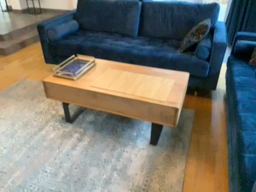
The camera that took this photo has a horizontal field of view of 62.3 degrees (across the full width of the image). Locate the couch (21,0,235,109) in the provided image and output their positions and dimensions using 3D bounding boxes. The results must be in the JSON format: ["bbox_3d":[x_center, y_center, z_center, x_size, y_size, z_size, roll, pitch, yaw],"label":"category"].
[{"bbox_3d":[-0.010,-0.710,2.810,2.320,0.970,0.940,10,34,15],"label":"couch"}]
